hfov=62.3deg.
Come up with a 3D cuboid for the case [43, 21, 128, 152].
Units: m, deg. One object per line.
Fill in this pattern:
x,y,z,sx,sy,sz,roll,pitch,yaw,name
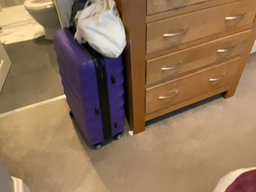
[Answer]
-0.240,-0.050,1.290,0.300,0.600,0.440,-18,45,-14,case
